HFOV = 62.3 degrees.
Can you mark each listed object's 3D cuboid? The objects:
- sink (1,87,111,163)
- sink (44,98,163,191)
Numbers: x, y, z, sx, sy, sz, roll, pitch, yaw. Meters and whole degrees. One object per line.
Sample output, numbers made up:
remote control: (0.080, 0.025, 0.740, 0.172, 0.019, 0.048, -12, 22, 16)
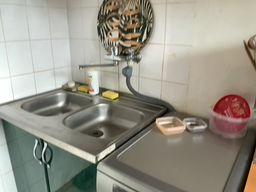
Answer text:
sink: (-0.420, 0.130, 1.310, 0.420, 0.210, 0.470, 14, 22, 33)
sink: (-0.100, 0.190, 1.080, 0.370, 0.180, 0.470, 14, 22, 33)
